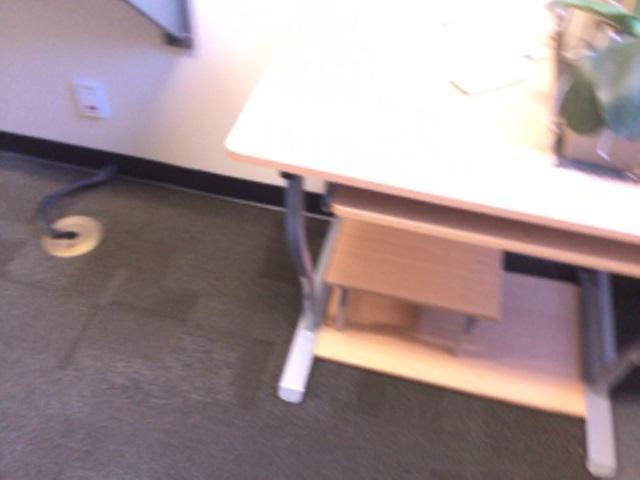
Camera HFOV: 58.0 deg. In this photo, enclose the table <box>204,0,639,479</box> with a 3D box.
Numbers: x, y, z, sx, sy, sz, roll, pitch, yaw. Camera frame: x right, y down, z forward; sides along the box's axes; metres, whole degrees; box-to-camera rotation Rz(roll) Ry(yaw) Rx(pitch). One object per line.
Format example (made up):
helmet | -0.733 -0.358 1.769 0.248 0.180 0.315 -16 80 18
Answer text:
table | 0.340 -0.020 1.240 0.890 0.790 0.660 12 50 8
